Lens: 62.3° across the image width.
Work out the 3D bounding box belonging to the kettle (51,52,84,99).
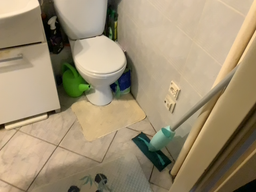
[{"bbox_3d":[-0.490,-0.170,1.720,0.180,0.200,0.310,-13,49,-20],"label":"kettle"}]

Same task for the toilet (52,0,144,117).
[{"bbox_3d":[-0.260,-0.370,1.570,0.400,0.750,0.650,-14,49,-20],"label":"toilet"}]
